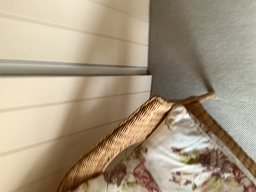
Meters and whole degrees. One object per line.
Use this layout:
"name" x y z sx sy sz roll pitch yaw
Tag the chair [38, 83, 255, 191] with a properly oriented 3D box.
"chair" 0.200 0.370 0.880 0.590 0.780 0.560 50 120 21
